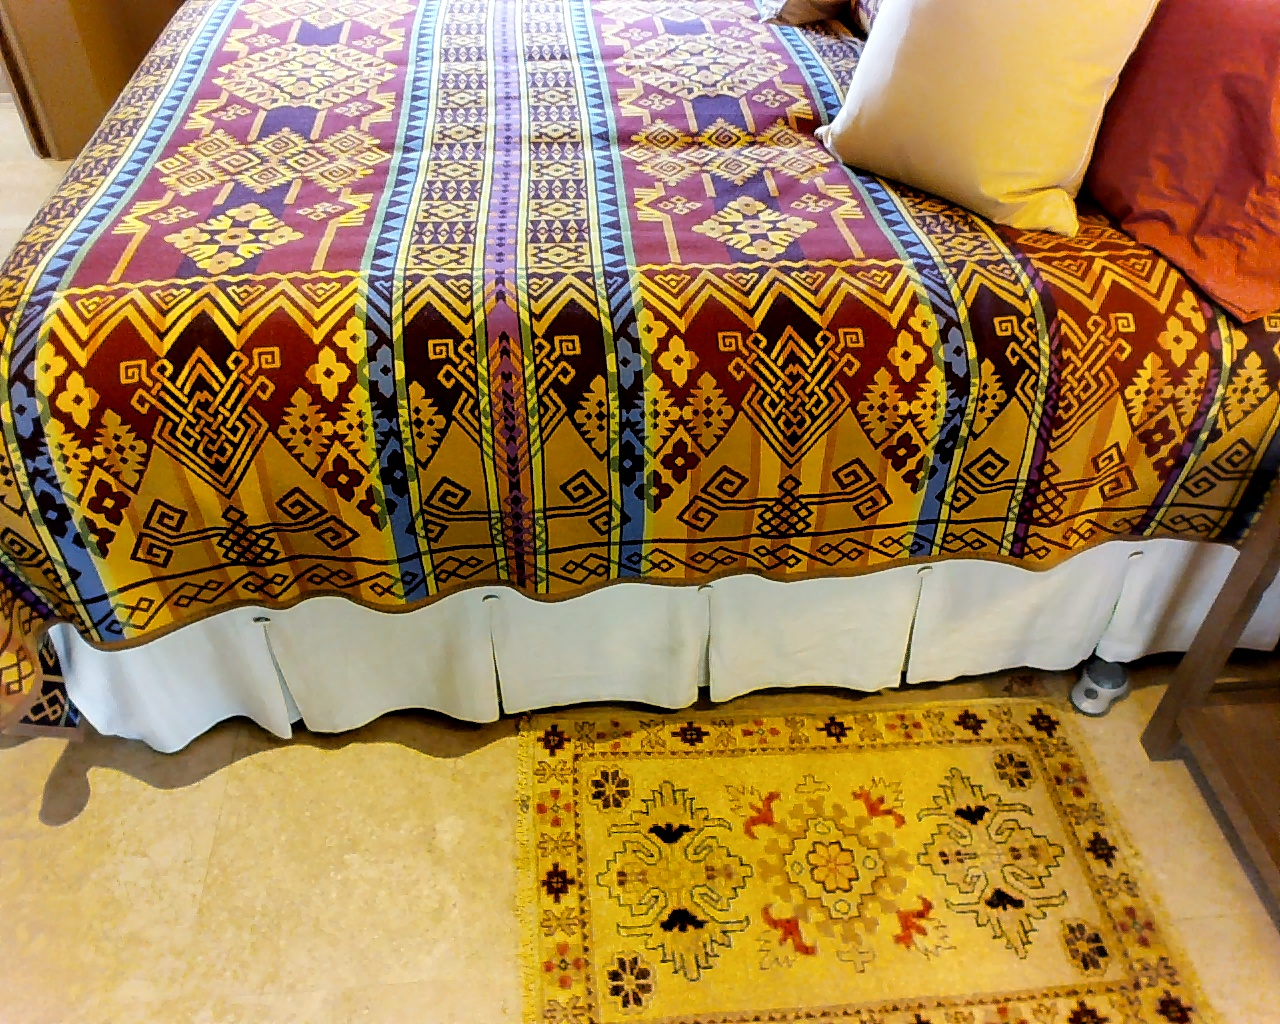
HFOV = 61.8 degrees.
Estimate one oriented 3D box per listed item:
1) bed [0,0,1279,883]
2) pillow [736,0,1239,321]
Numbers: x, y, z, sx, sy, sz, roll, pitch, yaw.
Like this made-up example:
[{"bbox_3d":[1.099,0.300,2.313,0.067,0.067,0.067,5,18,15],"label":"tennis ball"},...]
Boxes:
[{"bbox_3d":[-0.070,-0.560,2.290,2.330,0.890,2.260,-3,42,-5],"label":"bed"},{"bbox_3d":[0.480,-0.710,1.620,0.320,0.570,0.540,-35,75,-15],"label":"pillow"}]
